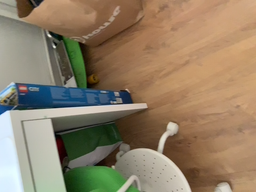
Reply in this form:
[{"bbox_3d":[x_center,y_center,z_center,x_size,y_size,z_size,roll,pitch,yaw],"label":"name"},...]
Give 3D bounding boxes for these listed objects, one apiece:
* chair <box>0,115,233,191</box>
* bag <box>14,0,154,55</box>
[{"bbox_3d":[-0.030,0.430,0.790,0.640,0.810,0.580,-11,84,34],"label":"chair"},{"bbox_3d":[-0.210,-0.480,1.120,0.430,0.550,0.290,-21,79,33],"label":"bag"}]
